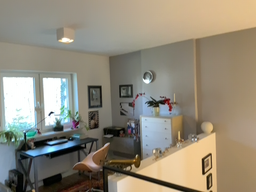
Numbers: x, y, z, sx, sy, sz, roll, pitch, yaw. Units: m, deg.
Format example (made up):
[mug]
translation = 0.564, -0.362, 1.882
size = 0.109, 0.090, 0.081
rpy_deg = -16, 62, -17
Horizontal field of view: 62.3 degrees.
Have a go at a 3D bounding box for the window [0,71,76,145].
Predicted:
[window]
translation = -1.670, 0.150, 4.010
size = 0.170, 1.200, 1.430
rpy_deg = -3, 1, 41

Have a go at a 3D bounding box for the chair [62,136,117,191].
[chair]
translation = -0.560, 1.110, 3.250
size = 0.610, 0.850, 0.600
rpy_deg = -4, 1, 8

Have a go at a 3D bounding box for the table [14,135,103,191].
[table]
translation = -1.160, 1.200, 3.700
size = 0.730, 0.740, 1.230
rpy_deg = -3, 1, 40
